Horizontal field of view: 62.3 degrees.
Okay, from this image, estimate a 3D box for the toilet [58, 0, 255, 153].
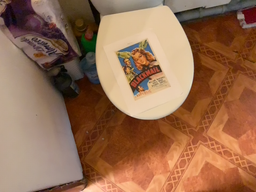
[{"bbox_3d":[0.050,-0.170,0.860,0.410,0.740,0.680,-11,72,-1],"label":"toilet"}]
